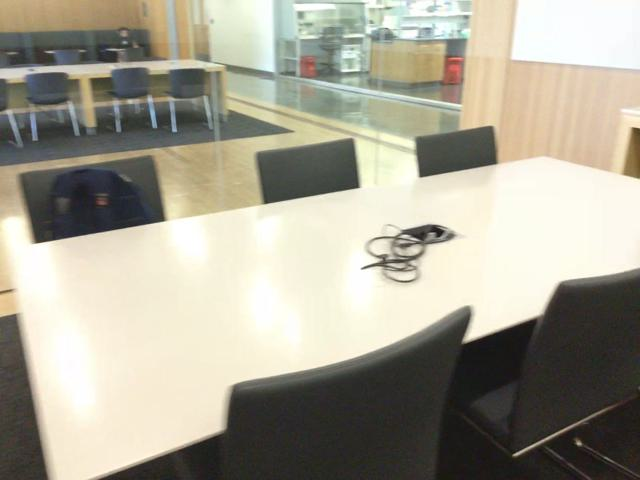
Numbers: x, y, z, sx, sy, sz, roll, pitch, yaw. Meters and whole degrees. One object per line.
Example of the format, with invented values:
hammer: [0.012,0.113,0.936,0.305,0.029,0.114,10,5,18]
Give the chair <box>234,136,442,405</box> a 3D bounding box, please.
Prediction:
chair: [0.050,0.070,2.300,0.530,0.810,0.610,-13,25,-28]

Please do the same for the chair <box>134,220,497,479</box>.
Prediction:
chair: [-0.040,0.460,1.300,0.510,0.800,0.570,-13,25,-27]

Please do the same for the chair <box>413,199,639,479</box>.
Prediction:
chair: [0.600,0.350,1.530,0.510,0.760,0.420,-13,25,-27]

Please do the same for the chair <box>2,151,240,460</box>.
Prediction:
chair: [-0.700,0.170,2.050,0.580,0.790,0.620,-13,25,-28]
